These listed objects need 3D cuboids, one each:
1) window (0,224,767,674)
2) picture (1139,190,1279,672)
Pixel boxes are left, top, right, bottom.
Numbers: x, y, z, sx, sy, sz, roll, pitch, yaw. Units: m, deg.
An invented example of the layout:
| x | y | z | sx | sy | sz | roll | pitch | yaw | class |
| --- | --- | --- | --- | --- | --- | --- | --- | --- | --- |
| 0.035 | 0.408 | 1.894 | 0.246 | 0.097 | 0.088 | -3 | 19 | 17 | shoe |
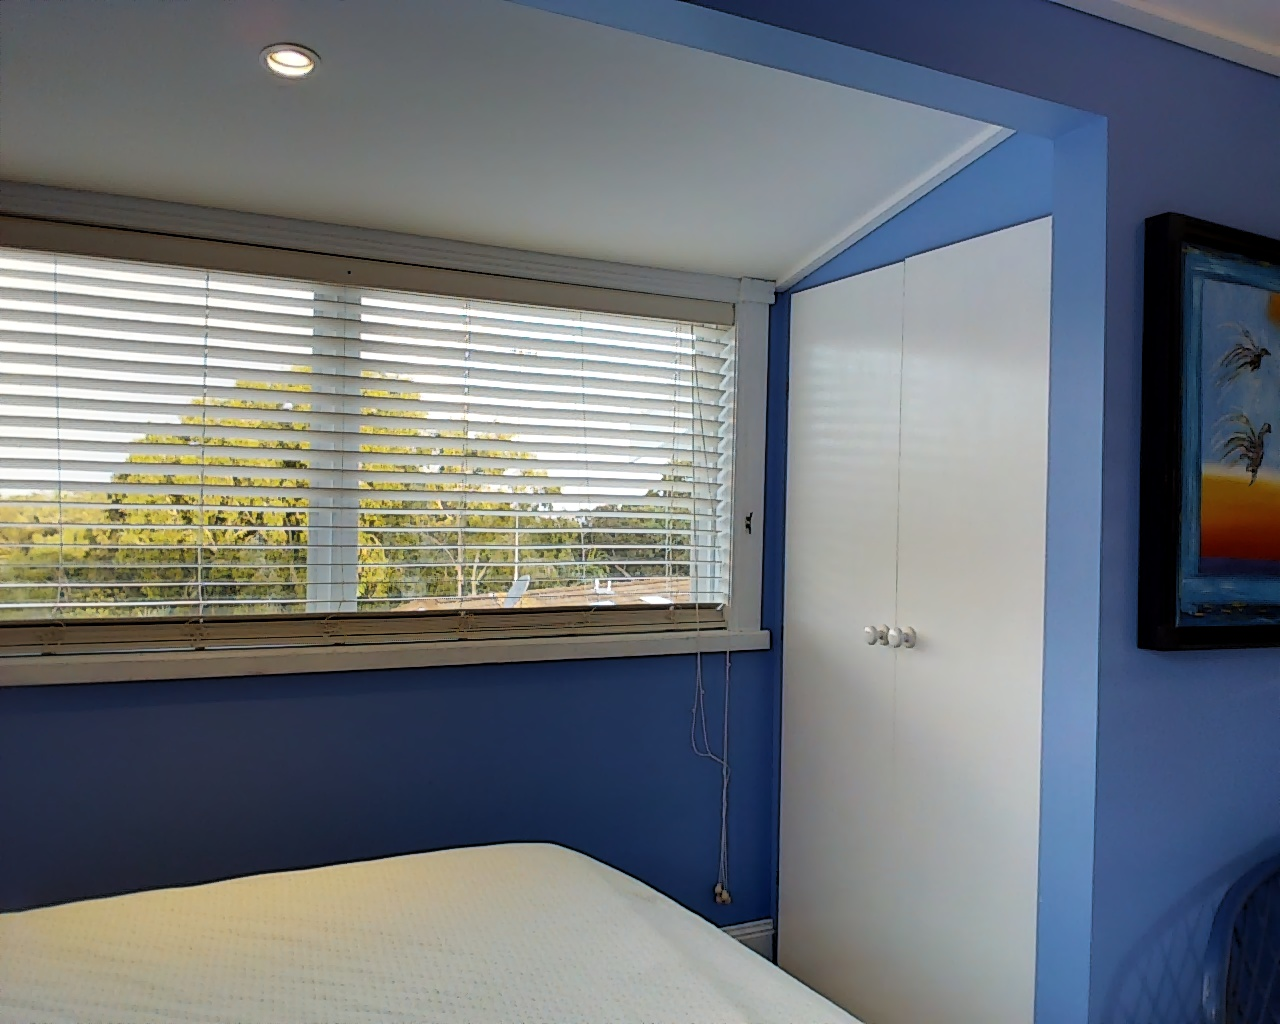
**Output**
| x | y | z | sx | sy | sz | roll | pitch | yaw | class |
| --- | --- | --- | --- | --- | --- | --- | --- | --- | --- |
| -0.660 | -0.120 | 2.570 | 2.229 | 0.910 | 0.110 | 1 | 0 | -28 | window |
| 1.170 | -0.140 | 2.050 | 0.560 | 0.850 | 0.060 | 1 | 0 | -28 | picture |
